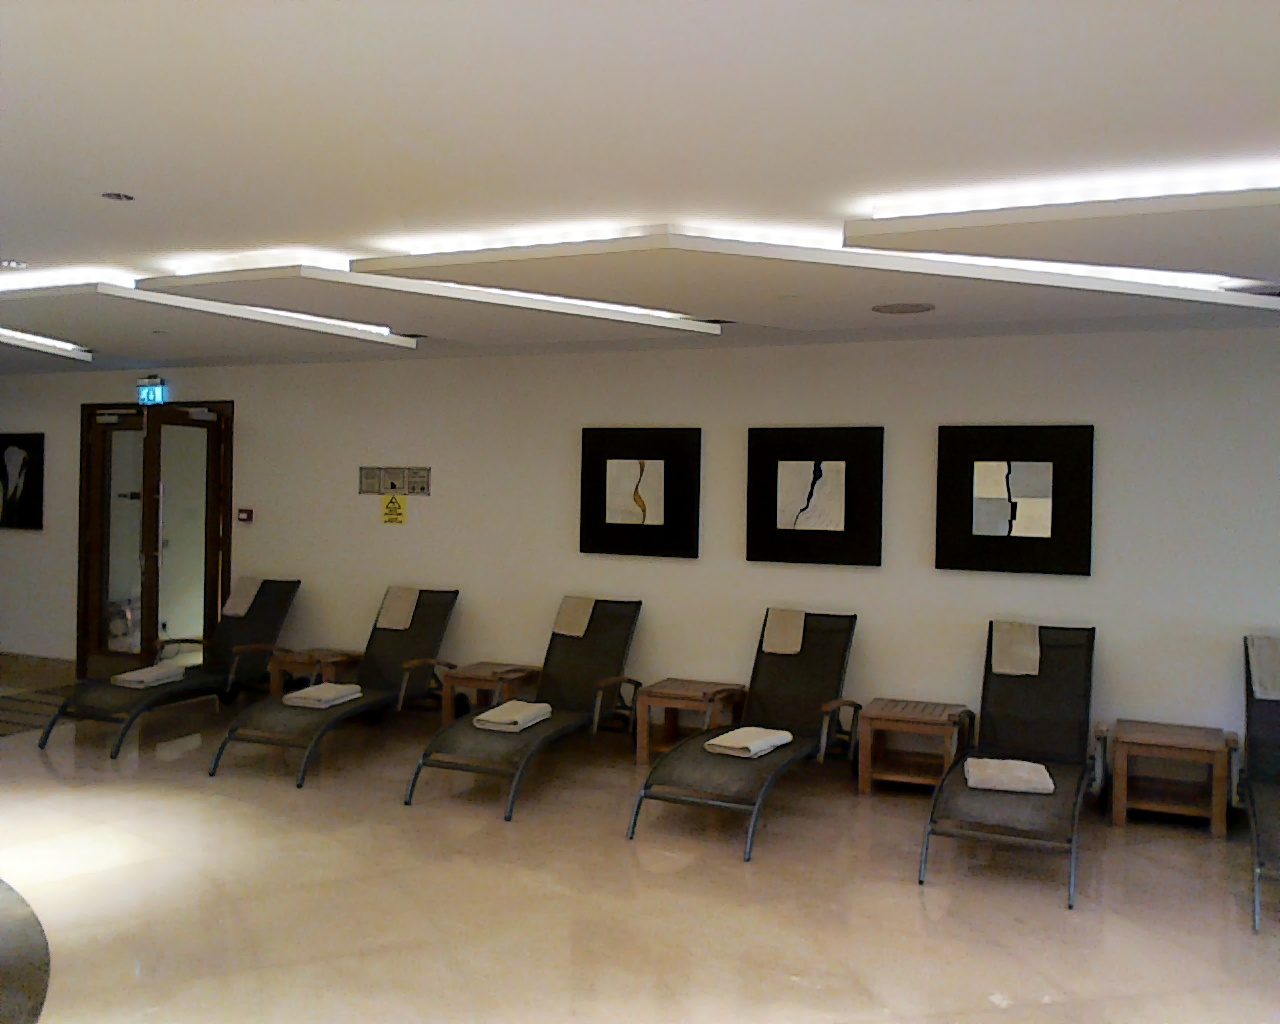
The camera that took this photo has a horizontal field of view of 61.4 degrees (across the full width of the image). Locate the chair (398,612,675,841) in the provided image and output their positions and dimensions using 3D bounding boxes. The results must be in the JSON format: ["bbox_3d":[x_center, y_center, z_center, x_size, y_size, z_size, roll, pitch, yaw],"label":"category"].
[{"bbox_3d":[-0.500,1.110,6.090,0.750,0.910,1.800,1,0,24],"label":"chair"}]

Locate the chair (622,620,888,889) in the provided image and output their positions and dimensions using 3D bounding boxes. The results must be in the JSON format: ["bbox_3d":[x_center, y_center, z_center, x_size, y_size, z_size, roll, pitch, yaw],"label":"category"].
[{"bbox_3d":[0.680,1.130,5.580,0.790,0.940,1.860,1,0,25],"label":"chair"}]

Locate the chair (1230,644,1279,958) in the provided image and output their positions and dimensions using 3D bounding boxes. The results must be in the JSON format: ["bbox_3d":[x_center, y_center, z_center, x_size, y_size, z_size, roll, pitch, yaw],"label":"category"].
[{"bbox_3d":[2.959,1.150,4.580,0.700,0.950,1.810,1,0,26],"label":"chair"}]

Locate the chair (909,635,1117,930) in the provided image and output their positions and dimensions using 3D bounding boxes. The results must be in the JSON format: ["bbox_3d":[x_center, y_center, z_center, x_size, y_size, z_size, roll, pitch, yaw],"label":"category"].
[{"bbox_3d":[1.820,1.140,5.070,0.720,0.910,1.790,1,0,25],"label":"chair"}]

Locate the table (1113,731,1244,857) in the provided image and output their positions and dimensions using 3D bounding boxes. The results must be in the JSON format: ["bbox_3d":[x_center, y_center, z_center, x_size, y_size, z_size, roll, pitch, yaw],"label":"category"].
[{"bbox_3d":[2.689,1.390,5.390,0.550,0.430,0.560,1,0,27],"label":"table"}]

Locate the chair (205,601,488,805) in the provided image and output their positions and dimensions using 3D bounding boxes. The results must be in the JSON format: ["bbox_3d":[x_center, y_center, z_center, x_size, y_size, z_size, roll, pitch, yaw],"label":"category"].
[{"bbox_3d":[-1.710,1.080,6.600,0.730,0.910,1.760,1,0,22],"label":"chair"}]
